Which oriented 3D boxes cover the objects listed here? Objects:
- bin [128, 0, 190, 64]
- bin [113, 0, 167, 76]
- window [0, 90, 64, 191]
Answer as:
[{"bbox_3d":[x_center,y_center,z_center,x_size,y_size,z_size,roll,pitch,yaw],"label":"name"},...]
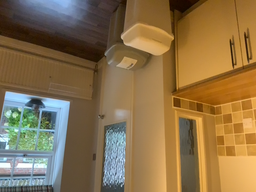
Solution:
[{"bbox_3d":[0.270,-0.630,1.830,0.420,0.550,0.300,13,161,-34],"label":"bin"},{"bbox_3d":[0.120,-0.550,2.100,0.420,0.560,0.300,12,162,-32],"label":"bin"},{"bbox_3d":[-1.490,0.760,3.040,0.940,1.550,0.100,13,161,-35],"label":"window"}]
